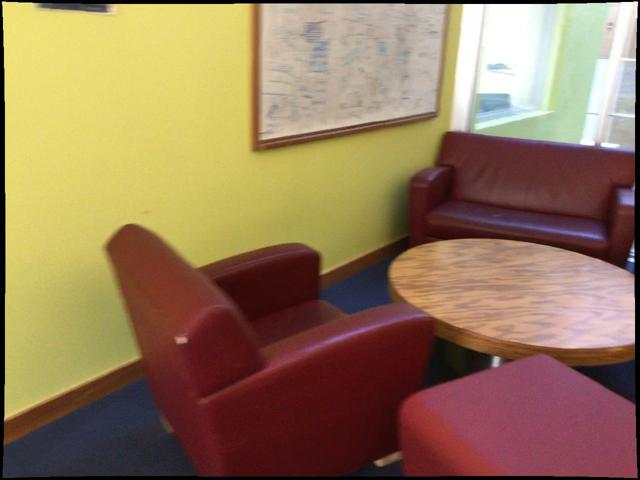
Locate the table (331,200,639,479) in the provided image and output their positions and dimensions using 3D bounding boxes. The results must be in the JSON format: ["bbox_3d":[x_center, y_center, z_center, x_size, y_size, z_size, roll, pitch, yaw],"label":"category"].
[{"bbox_3d":[0.899,0.330,2.700,1.179,0.440,1.220,20,31,34],"label":"table"}]

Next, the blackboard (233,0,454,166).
[{"bbox_3d":[0.240,-1.181,3.110,0.110,1.191,1.799,20,31,34],"label":"blackboard"}]

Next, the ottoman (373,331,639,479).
[{"bbox_3d":[0.649,0.711,1.680,0.699,0.430,0.710,-11,28,-25],"label":"ottoman"}]
